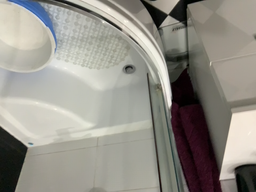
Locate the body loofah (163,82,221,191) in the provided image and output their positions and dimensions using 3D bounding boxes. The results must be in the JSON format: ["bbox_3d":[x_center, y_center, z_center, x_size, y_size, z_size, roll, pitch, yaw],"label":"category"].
[{"bbox_3d":[0.290,0.290,0.970,0.150,0.810,0.140,-8,140,8],"label":"body loofah"}]

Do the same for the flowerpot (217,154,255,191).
[{"bbox_3d":[0.460,0.350,0.830,0.160,0.180,0.140,-13,139,14],"label":"flowerpot"}]
